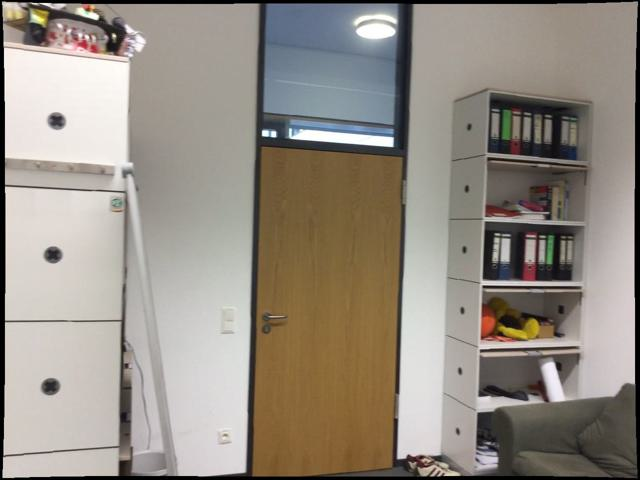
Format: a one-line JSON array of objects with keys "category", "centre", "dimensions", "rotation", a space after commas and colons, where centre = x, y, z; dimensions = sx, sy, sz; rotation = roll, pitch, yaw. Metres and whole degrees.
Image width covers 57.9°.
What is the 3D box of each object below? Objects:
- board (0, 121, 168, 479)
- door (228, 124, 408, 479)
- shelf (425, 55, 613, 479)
[{"category": "board", "centre": [-0.739, 0.601, 2.040], "dimensions": [0.210, 1.872, 1.000], "rotation": [-12, 7, -15]}, {"category": "door", "centre": [-0.010, 0.390, 3.520], "dimensions": [1.079, 2.102, 0.140], "rotation": [0, 4, -16]}, {"category": "shelf", "centre": [1.219, 0.210, 3.630], "dimensions": [0.909, 2.503, 0.520], "rotation": [0, 4, -16]}]
